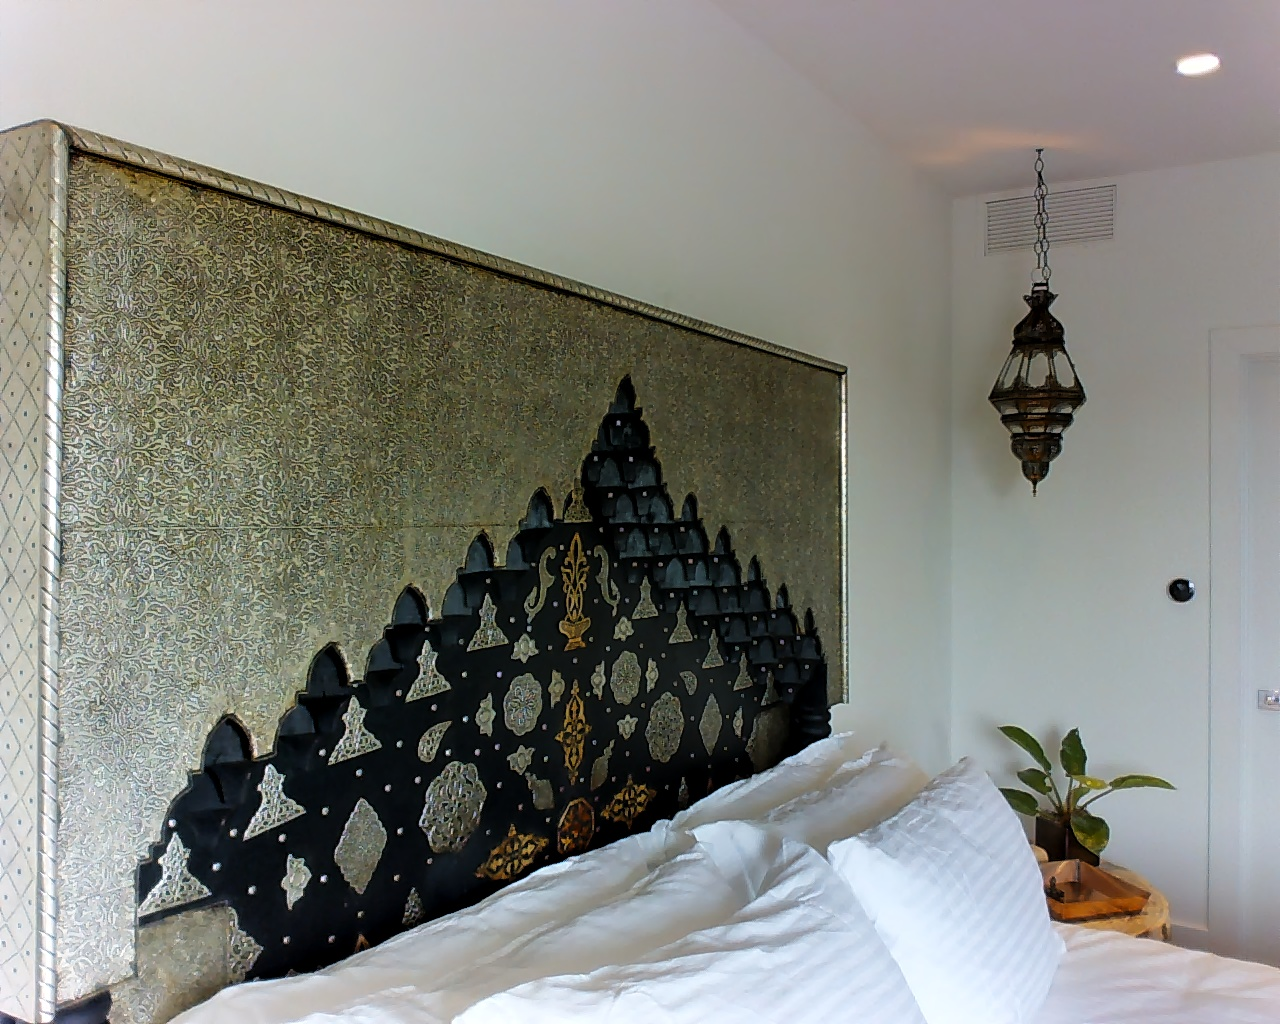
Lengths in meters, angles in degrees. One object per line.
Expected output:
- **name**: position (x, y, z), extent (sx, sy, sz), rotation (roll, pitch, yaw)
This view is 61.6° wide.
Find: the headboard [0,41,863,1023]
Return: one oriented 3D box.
- **headboard**: position (-0.070, 0.450, 1.980), extent (0.160, 1.820, 2.130), rotation (1, 1, 33)
